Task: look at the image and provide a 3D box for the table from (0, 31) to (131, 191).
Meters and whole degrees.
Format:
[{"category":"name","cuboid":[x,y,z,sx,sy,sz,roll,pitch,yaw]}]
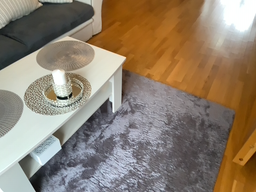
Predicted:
[{"category":"table","cuboid":[-0.530,0.090,1.480,0.640,0.540,1.070,23,47,19]}]
